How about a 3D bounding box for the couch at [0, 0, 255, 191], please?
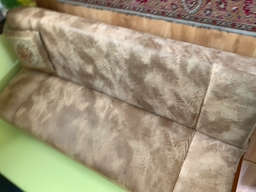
[{"bbox_3d":[-0.200,-0.020,1.590,2.080,0.860,0.960,20,136,24],"label":"couch"}]
